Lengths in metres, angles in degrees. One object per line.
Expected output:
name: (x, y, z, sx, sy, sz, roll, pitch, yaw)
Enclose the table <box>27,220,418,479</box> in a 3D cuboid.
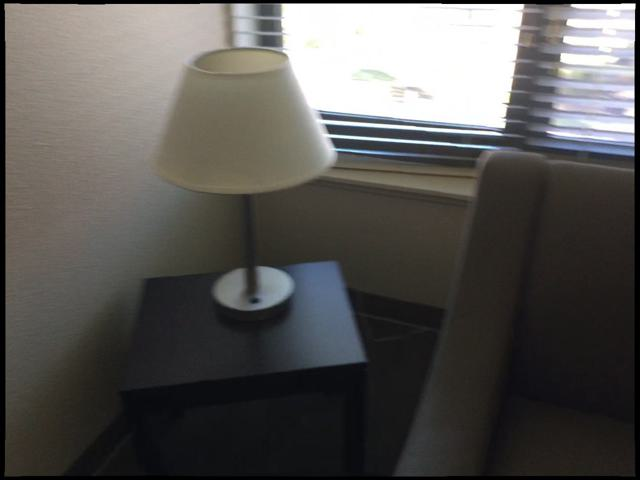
table: (-0.190, 0.371, 1.500, 0.689, 0.481, 0.630, 13, 35, 23)
